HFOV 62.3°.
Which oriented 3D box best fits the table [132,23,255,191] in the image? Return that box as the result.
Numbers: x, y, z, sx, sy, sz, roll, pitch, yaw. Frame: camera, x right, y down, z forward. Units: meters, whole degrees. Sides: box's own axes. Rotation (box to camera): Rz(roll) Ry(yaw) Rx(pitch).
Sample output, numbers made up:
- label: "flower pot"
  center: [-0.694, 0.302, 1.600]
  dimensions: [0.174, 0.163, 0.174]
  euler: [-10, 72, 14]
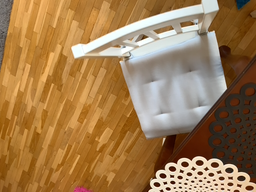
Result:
- label: "table"
  center: [0.540, 0.180, 1.010]
  dimensions: [0.680, 0.760, 0.710]
  euler: [31, 115, -1]
